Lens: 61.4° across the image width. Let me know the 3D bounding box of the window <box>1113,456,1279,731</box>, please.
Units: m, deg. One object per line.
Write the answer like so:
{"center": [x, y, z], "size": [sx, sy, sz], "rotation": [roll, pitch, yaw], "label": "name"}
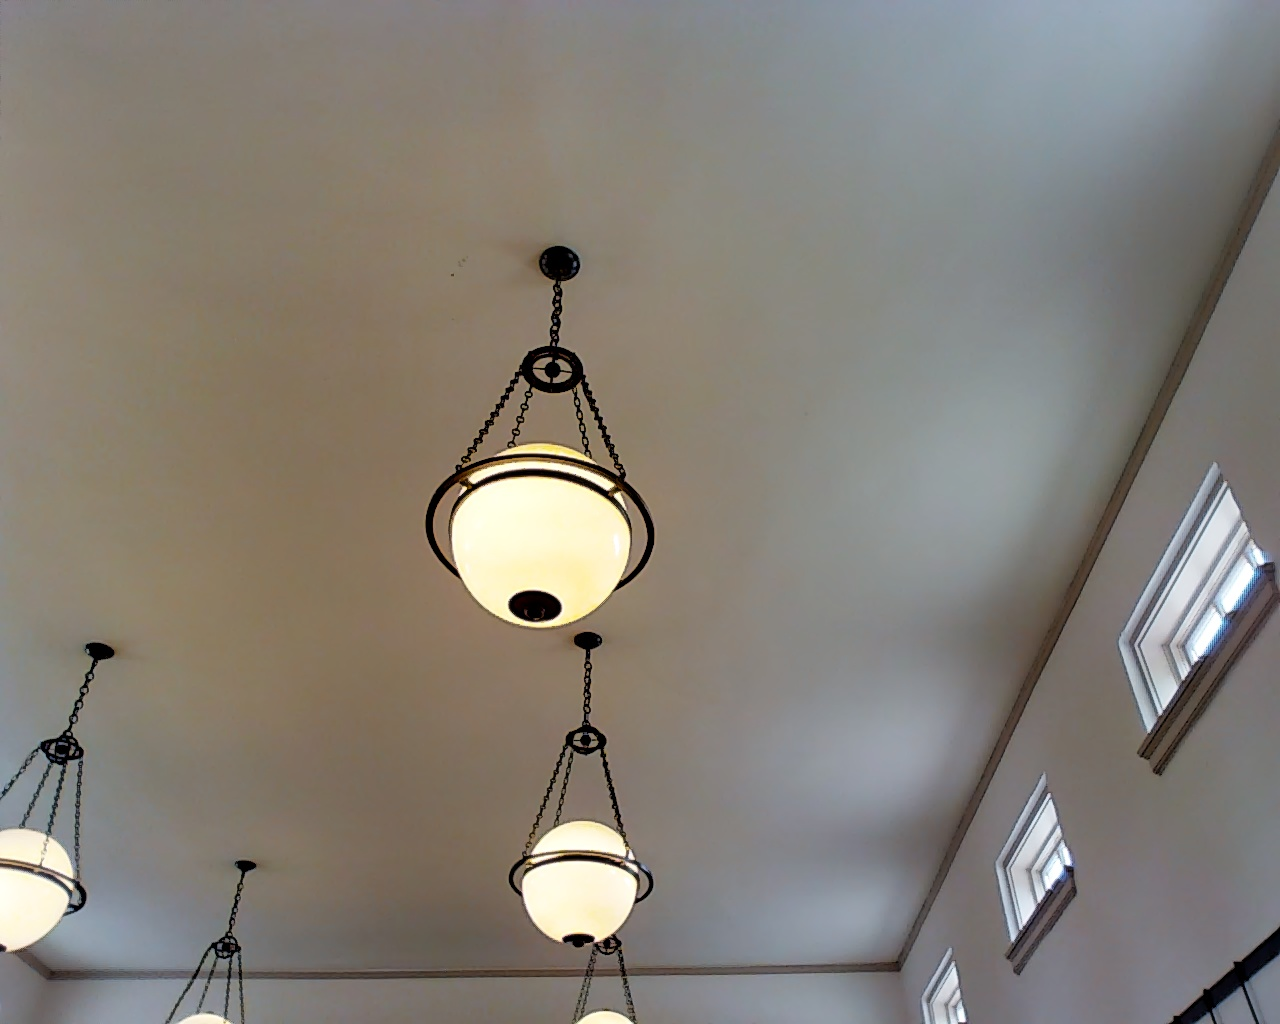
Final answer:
{"center": [2.130, 0.340, 4.060], "size": [0.220, 0.460, 1.100], "rotation": [-1, -41, 1], "label": "window"}
